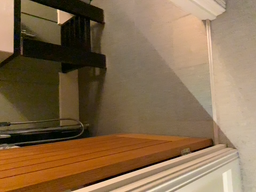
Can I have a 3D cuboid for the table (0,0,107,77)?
[{"bbox_3d":[-0.610,-0.480,1.690,0.480,0.720,0.540,-6,85,45],"label":"table"}]
